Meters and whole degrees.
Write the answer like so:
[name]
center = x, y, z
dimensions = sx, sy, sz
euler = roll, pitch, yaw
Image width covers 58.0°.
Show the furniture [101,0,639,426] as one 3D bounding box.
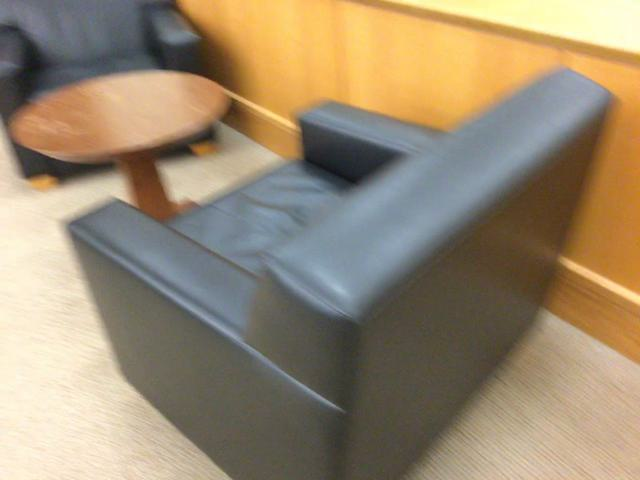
[furniture]
center = 0.190, -0.710, 2.390
dimensions = 0.860, 0.900, 3.660
euler = -26, 40, -28
